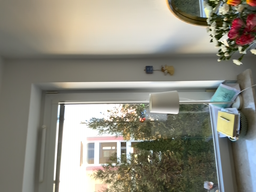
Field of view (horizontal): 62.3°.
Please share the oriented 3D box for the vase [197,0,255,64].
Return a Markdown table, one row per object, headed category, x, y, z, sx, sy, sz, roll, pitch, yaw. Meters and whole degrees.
| category | x | y | z | sx | sy | sz | roll | pitch | yaw |
| --- | --- | --- | --- | --- | --- | --- | --- | --- | --- |
| vase | 0.630 | -0.310 | 0.900 | 0.430 | 0.510 | 0.190 | 99 | 171 | -76 |
